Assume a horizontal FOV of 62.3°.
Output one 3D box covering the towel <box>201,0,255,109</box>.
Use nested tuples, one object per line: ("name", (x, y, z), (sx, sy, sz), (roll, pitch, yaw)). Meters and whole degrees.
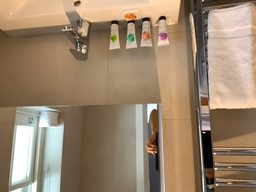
("towel", (0.340, -0.110, 0.570), (0.250, 0.280, 0.130), (-3, 175, 14))
